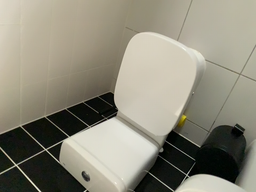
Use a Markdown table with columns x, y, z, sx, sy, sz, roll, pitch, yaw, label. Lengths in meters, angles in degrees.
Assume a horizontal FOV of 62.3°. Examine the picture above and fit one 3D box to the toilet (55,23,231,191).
| x | y | z | sx | sy | sz | roll | pitch | yaw | label |
| --- | --- | --- | --- | --- | --- | --- | --- | --- | --- |
| 0.100 | 0.030 | 1.060 | 0.370 | 0.760 | 0.650 | 32 | 122 | 24 | toilet |
